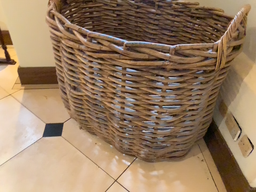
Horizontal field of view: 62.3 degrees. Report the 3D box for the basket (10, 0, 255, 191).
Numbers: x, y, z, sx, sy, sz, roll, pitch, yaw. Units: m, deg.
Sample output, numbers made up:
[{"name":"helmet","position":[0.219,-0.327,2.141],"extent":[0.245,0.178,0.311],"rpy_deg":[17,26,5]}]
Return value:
[{"name":"basket","position":[0.030,-0.180,1.420],"extent":[1.150,0.840,0.760],"rpy_deg":[25,44,23]}]
